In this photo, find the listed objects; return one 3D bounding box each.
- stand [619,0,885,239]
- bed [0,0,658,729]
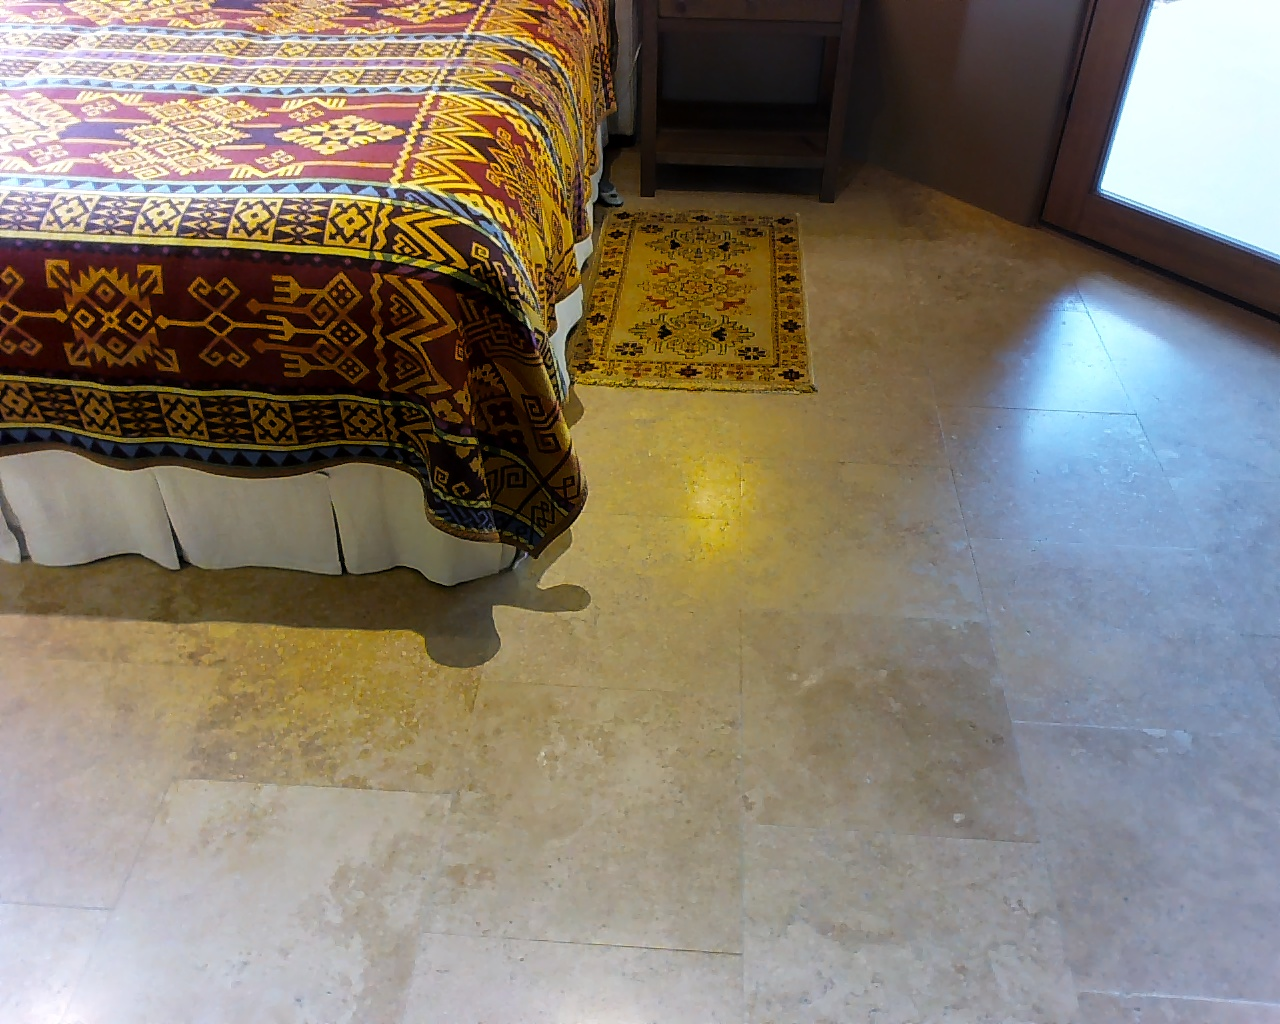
[{"bbox_3d":[0.310,-1.310,3.250,0.710,0.770,0.470,3,41,2],"label":"stand"},{"bbox_3d":[-1.150,-0.770,2.550,2.260,0.890,2.330,3,41,2],"label":"bed"}]
